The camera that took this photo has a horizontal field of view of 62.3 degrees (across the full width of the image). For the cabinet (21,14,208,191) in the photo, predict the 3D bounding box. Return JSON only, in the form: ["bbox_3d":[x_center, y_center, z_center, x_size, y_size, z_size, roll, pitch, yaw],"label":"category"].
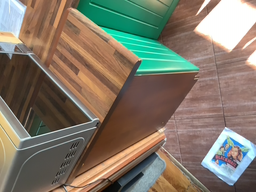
[{"bbox_3d":[0.020,-0.010,1.060,0.310,0.860,0.510,40,116,22],"label":"cabinet"}]
